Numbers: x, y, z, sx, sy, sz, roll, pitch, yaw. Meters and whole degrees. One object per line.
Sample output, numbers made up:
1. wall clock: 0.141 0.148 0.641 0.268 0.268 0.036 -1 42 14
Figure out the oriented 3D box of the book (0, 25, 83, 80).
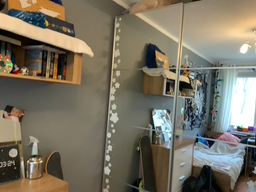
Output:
1. book: -0.640 -0.260 1.460 0.280 0.230 0.590 4 0 36
